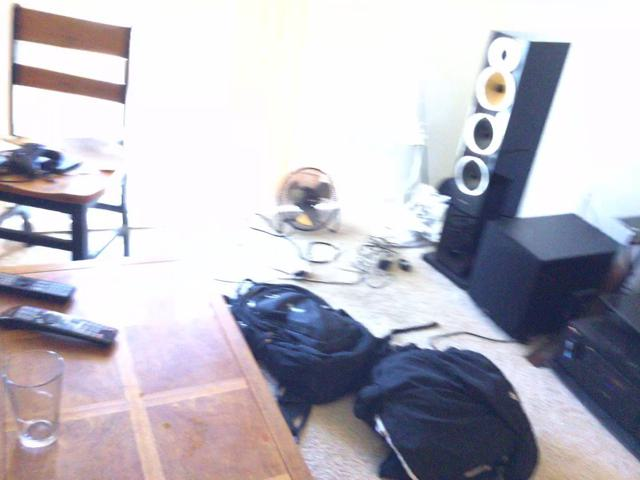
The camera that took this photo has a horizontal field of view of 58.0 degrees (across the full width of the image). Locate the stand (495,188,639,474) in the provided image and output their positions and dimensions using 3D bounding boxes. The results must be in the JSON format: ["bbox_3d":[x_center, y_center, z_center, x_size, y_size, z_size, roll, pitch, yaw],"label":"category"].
[{"bbox_3d":[1.200,0.370,1.630,0.560,0.620,1.210,1,24,-28],"label":"stand"}]

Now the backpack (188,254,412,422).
[{"bbox_3d":[-0.100,0.270,1.880,0.490,0.180,0.650,1,24,-28],"label":"backpack"}]
